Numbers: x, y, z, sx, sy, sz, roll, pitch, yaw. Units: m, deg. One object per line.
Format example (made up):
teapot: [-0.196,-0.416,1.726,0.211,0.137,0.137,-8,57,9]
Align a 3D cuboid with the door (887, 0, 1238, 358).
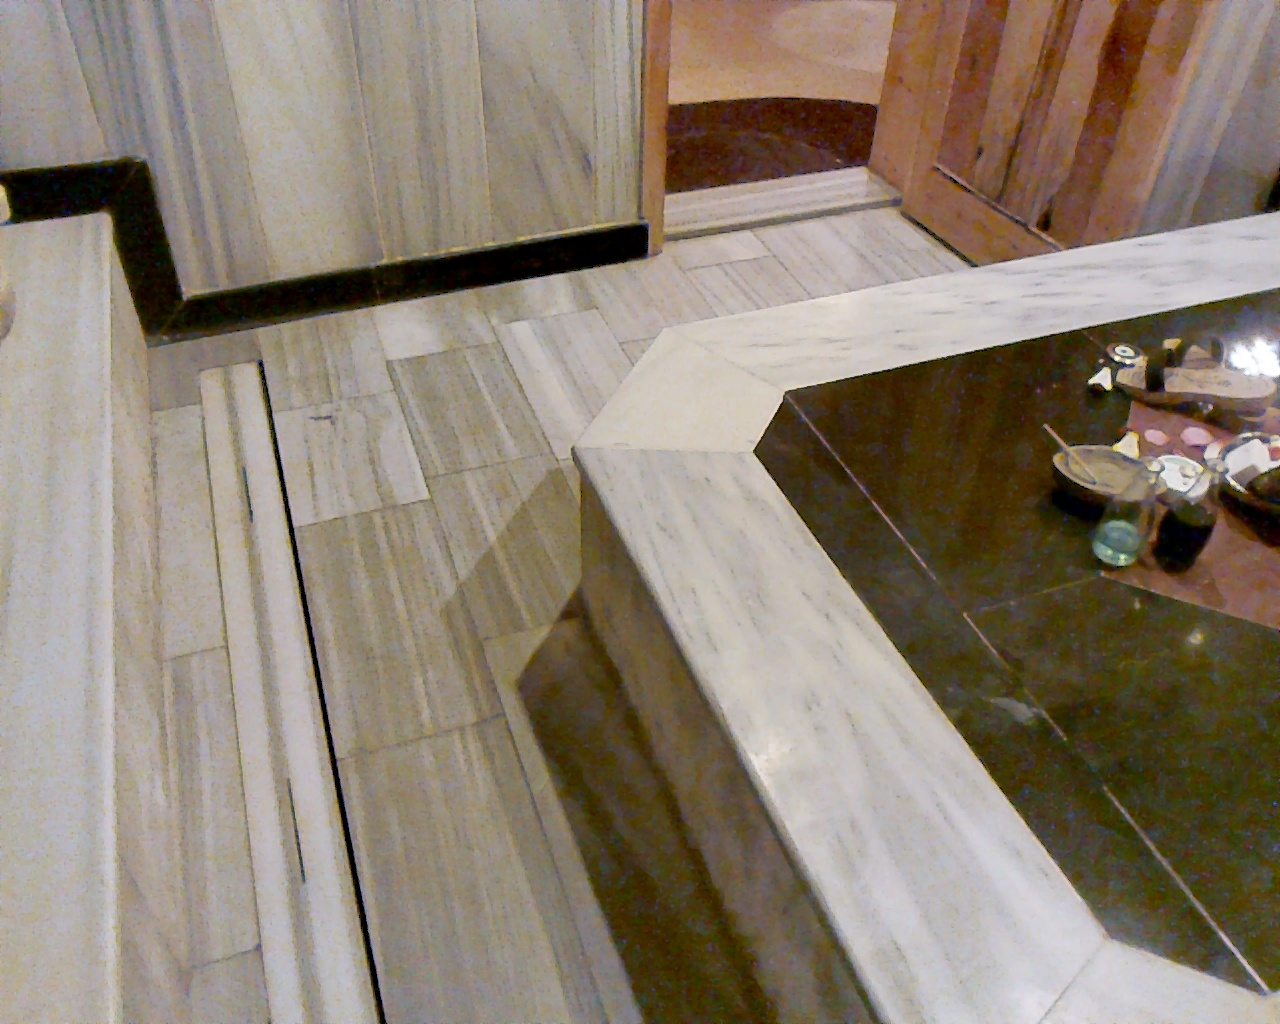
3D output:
door: [1.060,-1.490,2.490,0.070,2.130,0.910,-17,46,-20]
